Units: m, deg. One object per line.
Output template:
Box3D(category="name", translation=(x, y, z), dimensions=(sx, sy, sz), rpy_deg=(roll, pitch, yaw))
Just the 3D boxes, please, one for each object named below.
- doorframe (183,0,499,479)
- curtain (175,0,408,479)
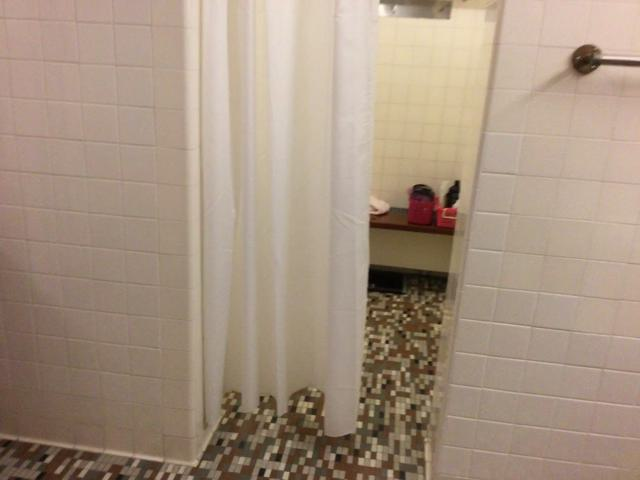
Box3D(category="doorframe", translation=(0.030, -0.180, 1.720), dimensions=(0.800, 1.990, 0.260), rpy_deg=(5, 17, 7))
Box3D(category="curtain", translation=(-0.070, -0.230, 1.770), dimensions=(0.580, 2.010, 0.460), rpy_deg=(5, 17, 7))
